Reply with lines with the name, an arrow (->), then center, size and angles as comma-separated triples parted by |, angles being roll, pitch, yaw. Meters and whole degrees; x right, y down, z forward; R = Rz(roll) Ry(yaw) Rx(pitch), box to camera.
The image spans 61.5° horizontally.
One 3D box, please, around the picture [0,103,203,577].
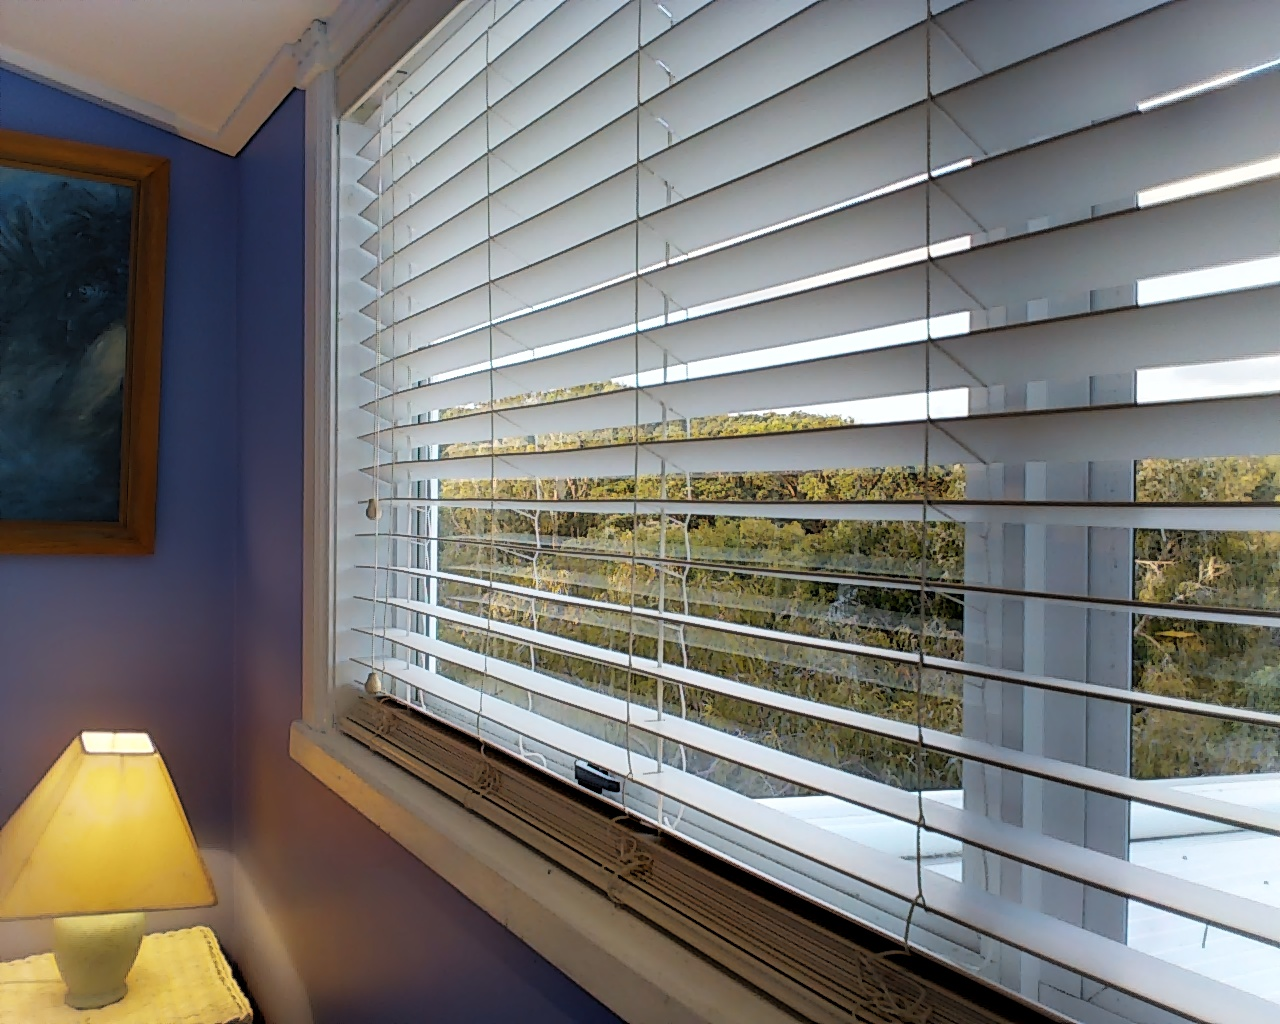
picture -> -1.150, -0.280, 1.710 | 0.840, 0.770, 0.050 | 0, 0, -32
